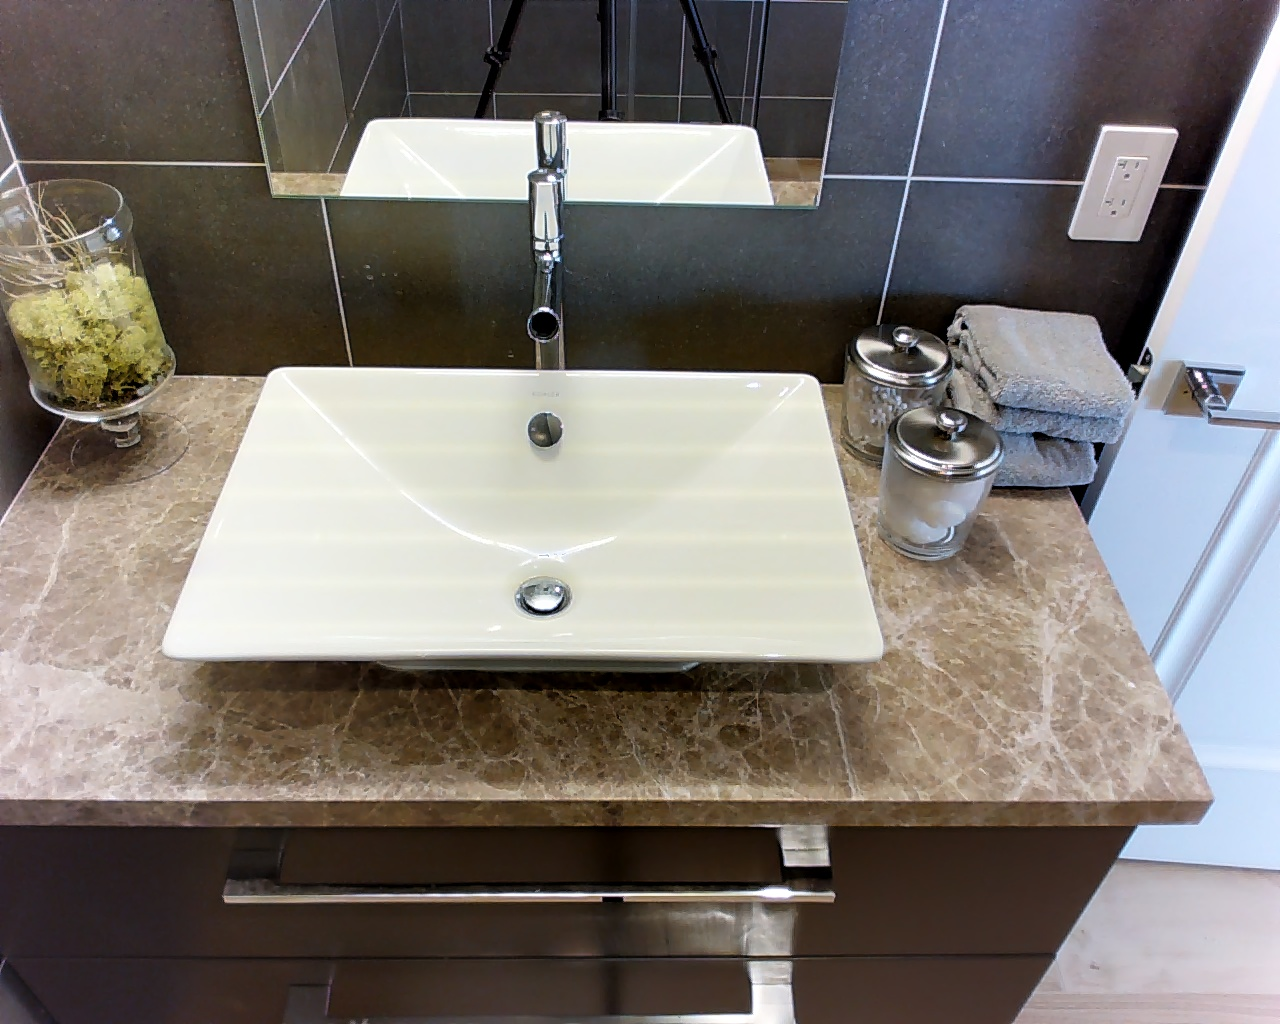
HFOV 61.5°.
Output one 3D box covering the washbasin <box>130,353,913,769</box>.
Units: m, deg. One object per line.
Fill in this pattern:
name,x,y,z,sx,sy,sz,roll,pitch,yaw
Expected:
washbasin,-0.090,0.030,0.990,0.580,0.150,0.380,1,42,-2
